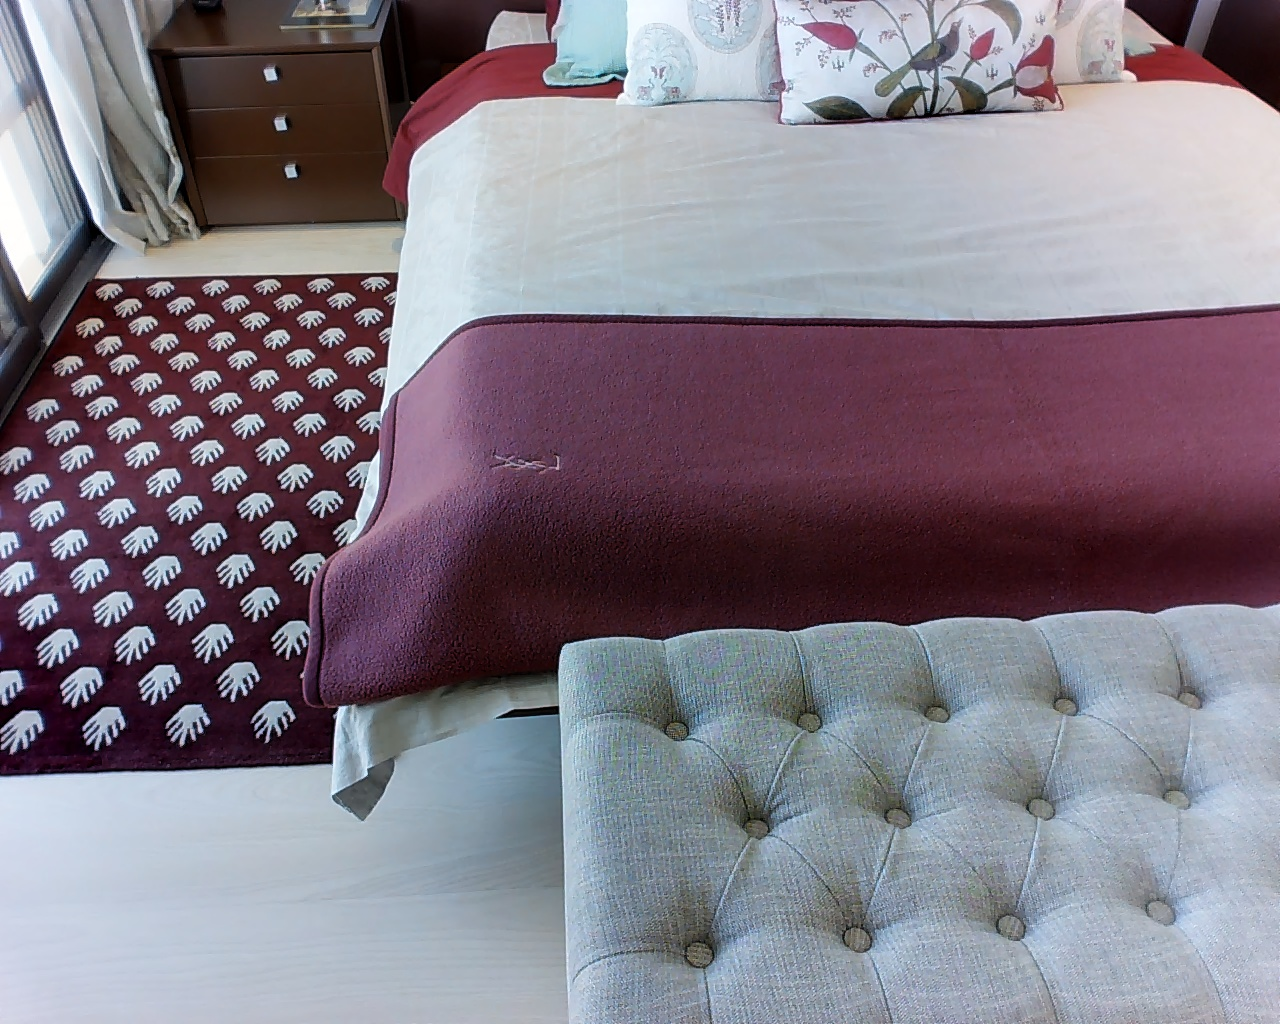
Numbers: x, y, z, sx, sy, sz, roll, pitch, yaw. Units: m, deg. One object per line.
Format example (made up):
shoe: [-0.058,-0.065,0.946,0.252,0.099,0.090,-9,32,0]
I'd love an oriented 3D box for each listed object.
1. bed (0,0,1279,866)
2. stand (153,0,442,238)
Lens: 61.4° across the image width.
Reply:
bed: [0.580,-0.790,2.140,2.350,0.930,2.580,-2,43,-4]
stand: [-0.890,-1.150,2.980,0.590,0.520,0.610,-2,43,-4]
